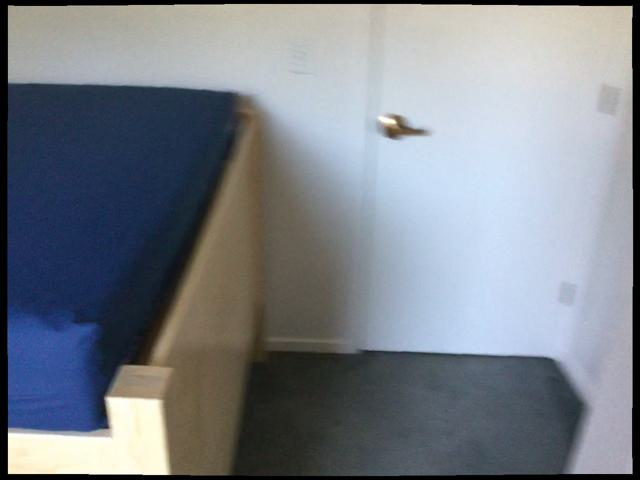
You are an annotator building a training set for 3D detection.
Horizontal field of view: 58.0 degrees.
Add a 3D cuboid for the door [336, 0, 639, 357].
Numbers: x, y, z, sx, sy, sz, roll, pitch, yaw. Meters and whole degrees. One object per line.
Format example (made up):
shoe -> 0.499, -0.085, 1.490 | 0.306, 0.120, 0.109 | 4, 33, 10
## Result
door -> 0.569, -0.240, 2.170 | 0.898, 1.542, 0.080 | 4, 25, -1
